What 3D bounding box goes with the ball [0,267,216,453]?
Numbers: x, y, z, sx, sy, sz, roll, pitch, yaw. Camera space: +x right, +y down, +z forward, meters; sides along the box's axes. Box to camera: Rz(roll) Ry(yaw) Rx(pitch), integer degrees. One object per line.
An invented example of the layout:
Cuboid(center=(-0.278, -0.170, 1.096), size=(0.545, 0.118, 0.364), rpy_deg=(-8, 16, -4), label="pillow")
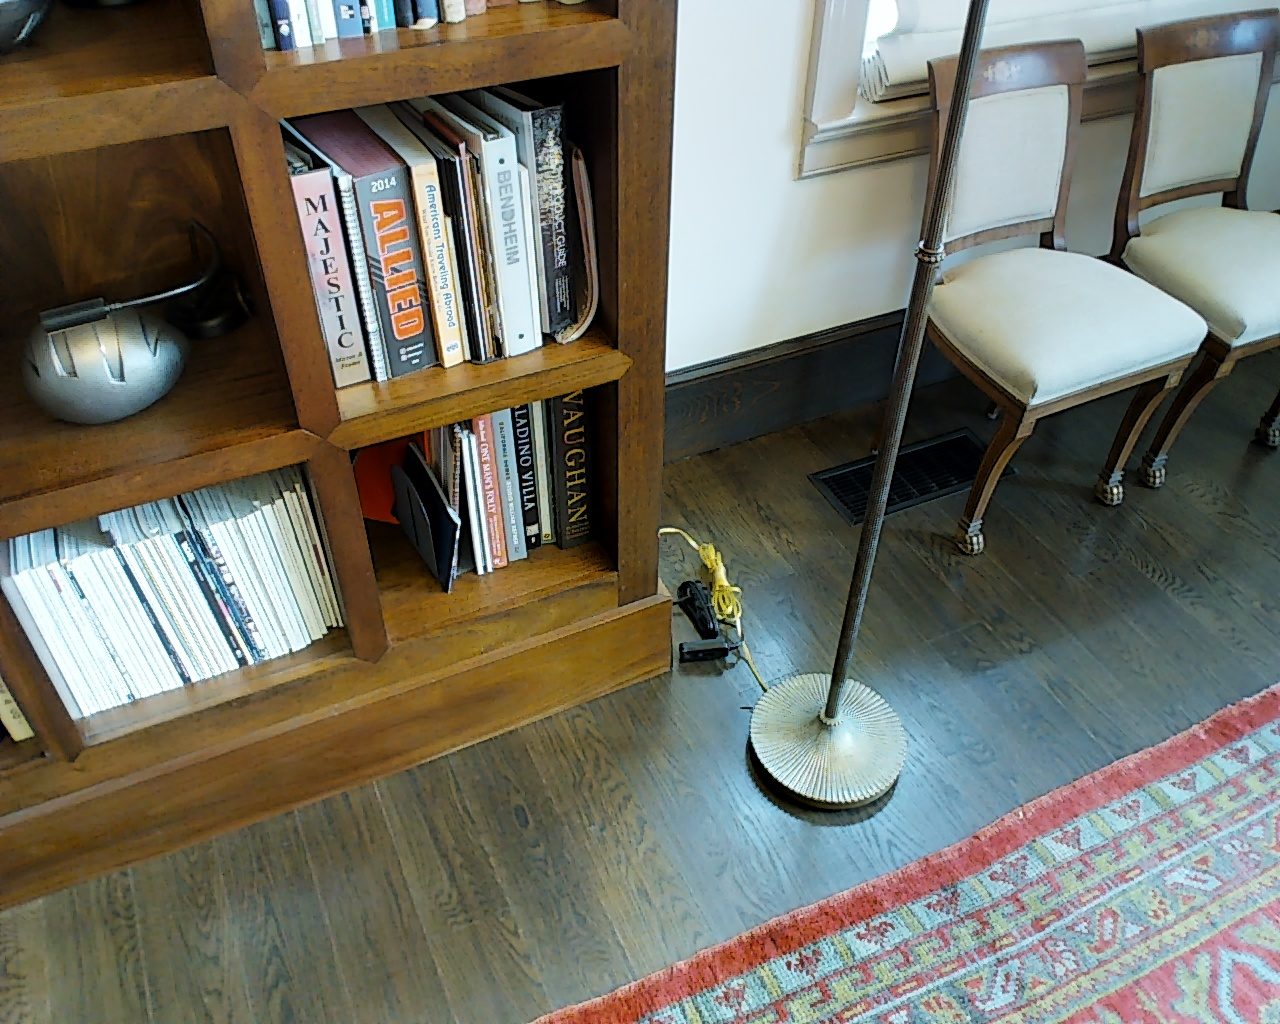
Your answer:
Cuboid(center=(-0.650, -0.190, 1.320), size=(0.200, 0.130, 0.150), rpy_deg=(-15, 44, -18), label="ball")
